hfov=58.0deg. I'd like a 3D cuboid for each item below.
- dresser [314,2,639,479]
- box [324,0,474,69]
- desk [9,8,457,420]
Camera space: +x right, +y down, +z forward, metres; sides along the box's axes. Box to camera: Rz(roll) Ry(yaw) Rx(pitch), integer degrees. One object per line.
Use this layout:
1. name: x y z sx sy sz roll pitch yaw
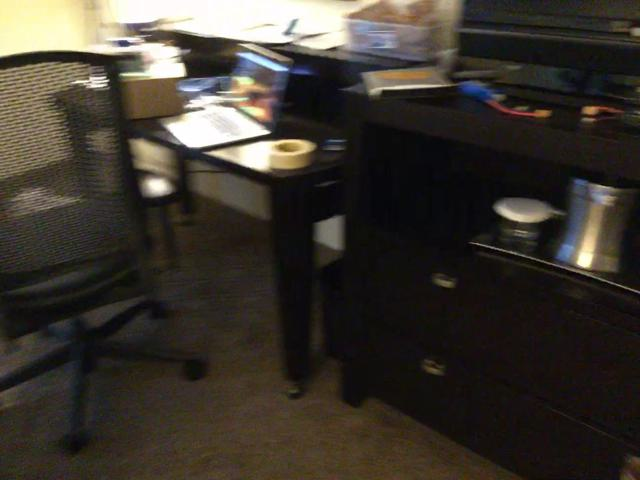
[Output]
1. dresser: 0.630 0.080 1.350 1.180 1.090 0.560 21 35 37
2. box: 0.220 -0.640 1.650 0.350 0.220 0.230 21 35 37
3. desk: -0.350 -0.250 2.120 1.440 1.000 0.690 21 35 37
